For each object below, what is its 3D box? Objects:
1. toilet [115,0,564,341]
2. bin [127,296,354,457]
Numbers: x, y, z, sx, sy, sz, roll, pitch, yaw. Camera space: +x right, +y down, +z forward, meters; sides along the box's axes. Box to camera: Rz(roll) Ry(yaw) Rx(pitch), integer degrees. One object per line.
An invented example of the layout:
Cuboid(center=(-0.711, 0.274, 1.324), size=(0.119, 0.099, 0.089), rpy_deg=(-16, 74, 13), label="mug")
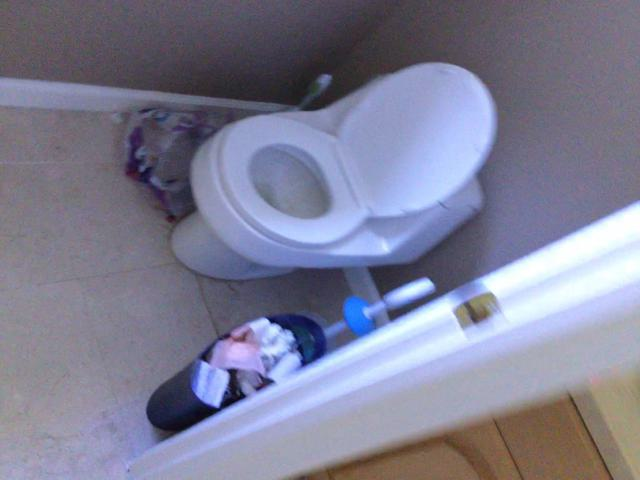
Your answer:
Cuboid(center=(0.030, -0.170, 1.480), size=(0.700, 0.490, 0.770), rpy_deg=(-5, -23, -47), label="toilet")
Cuboid(center=(-0.180, 0.300, 1.300), size=(0.340, 0.190, 0.330), rpy_deg=(-5, -23, -47), label="bin")
